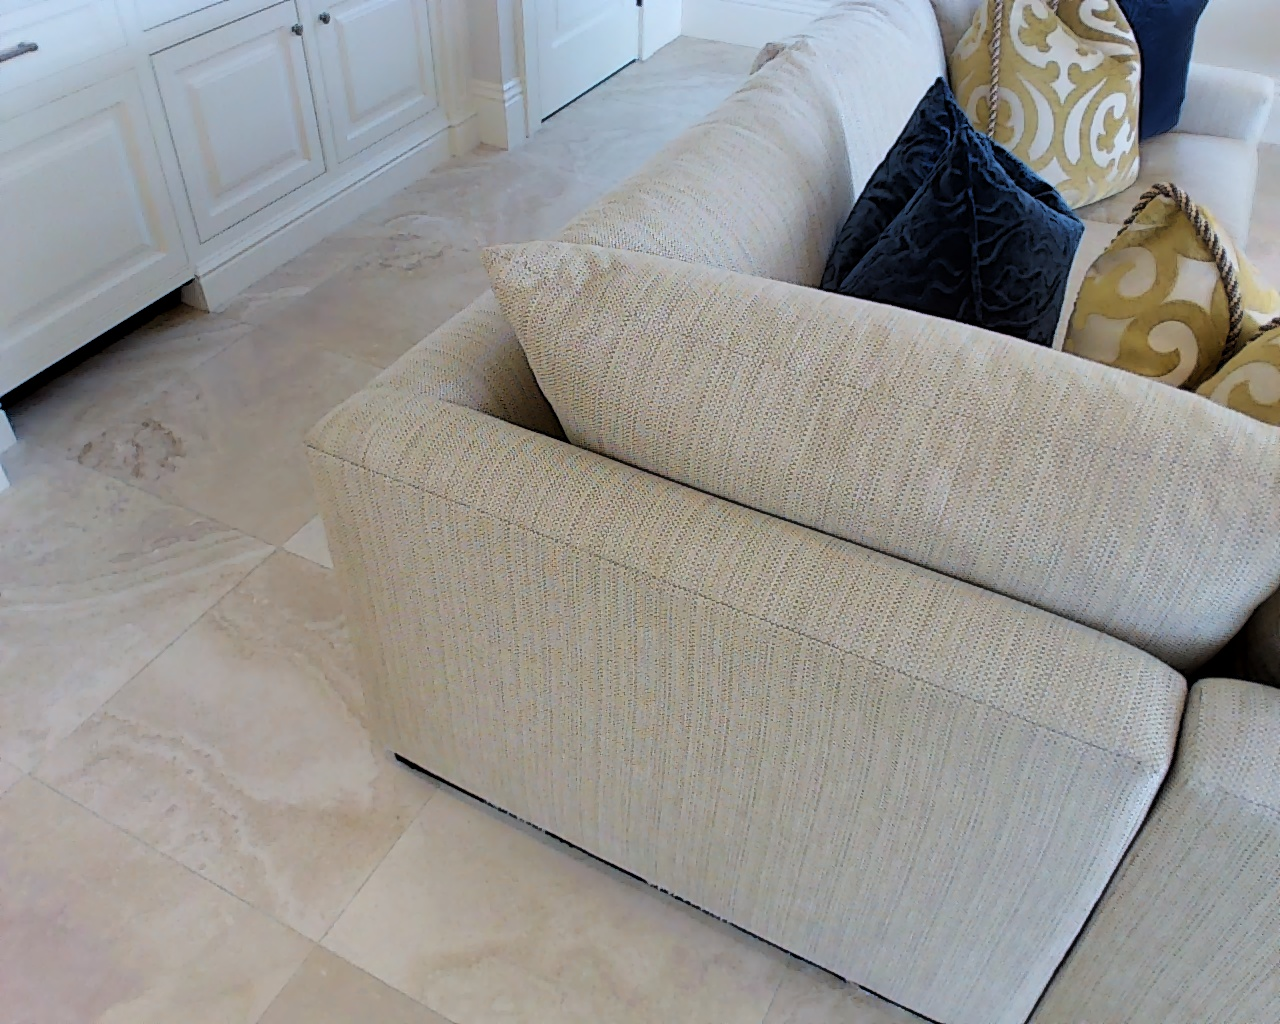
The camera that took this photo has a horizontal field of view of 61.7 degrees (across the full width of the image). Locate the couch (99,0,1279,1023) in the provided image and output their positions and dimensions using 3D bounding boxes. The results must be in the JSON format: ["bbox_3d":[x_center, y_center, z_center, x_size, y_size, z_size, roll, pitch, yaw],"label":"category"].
[{"bbox_3d":[1.600,-0.110,1.730,3.490,0.970,2.690,20,44,21],"label":"couch"}]

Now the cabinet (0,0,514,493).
[{"bbox_3d":[-1.020,-1.050,2.740,0.250,1.030,2.020,20,44,21],"label":"cabinet"}]
